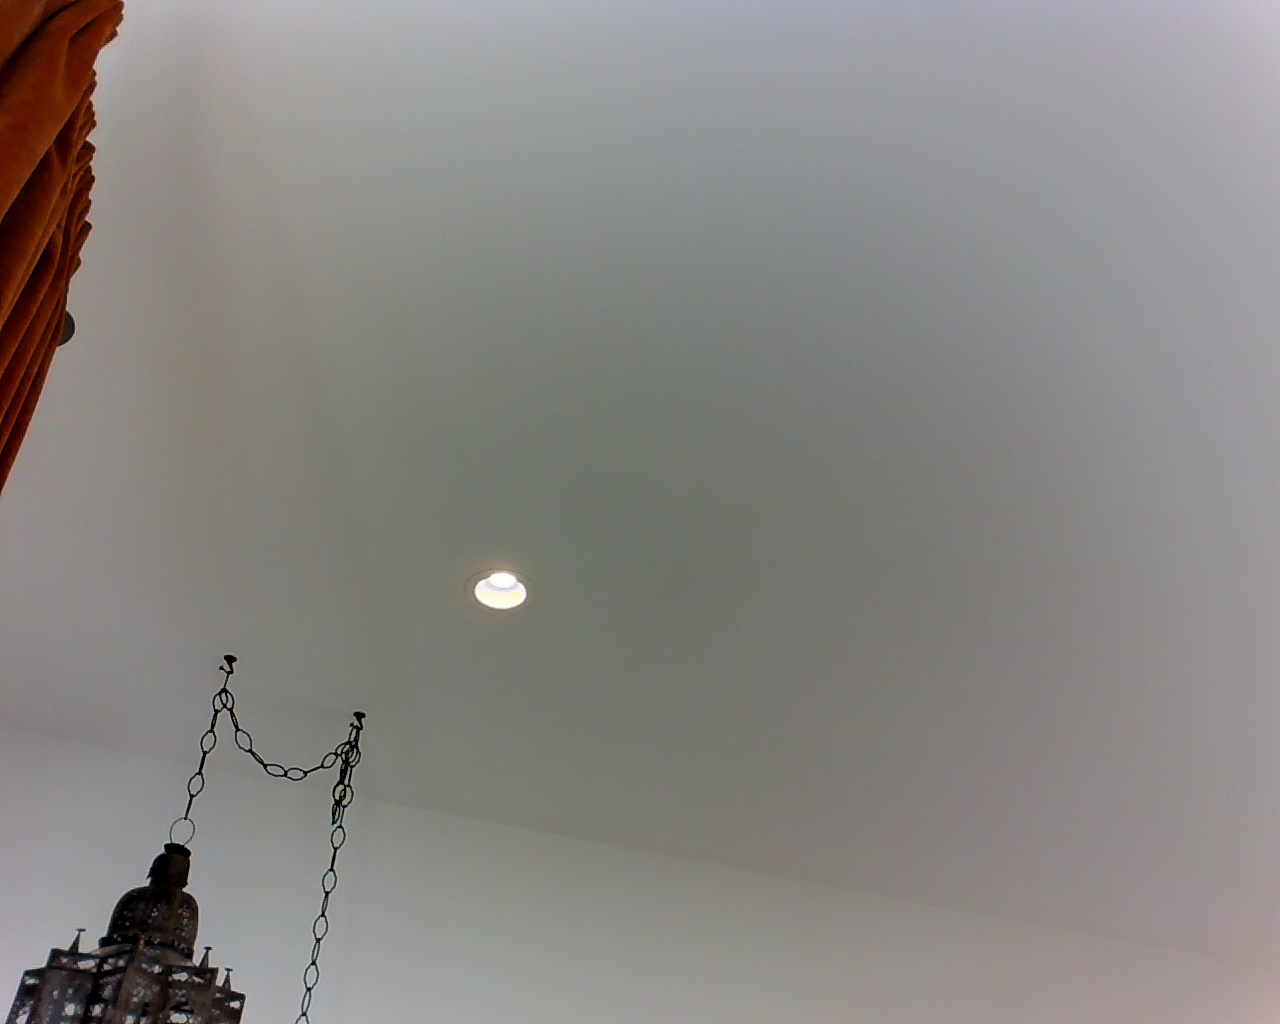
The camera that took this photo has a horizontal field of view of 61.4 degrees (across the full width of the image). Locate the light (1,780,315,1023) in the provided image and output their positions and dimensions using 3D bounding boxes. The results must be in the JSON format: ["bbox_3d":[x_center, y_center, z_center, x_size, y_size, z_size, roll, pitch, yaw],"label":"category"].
[{"bbox_3d":[-0.770,0.770,1.680,0.250,0.560,0.320,-33,-52,32],"label":"light"}]
